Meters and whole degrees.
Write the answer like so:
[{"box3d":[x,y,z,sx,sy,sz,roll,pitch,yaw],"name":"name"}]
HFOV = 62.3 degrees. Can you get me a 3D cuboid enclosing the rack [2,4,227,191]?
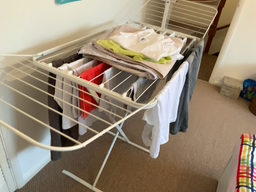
[{"box3d":[0.020,0.030,1.400,0.770,0.930,1.070,22,36,20],"name":"rack"}]
